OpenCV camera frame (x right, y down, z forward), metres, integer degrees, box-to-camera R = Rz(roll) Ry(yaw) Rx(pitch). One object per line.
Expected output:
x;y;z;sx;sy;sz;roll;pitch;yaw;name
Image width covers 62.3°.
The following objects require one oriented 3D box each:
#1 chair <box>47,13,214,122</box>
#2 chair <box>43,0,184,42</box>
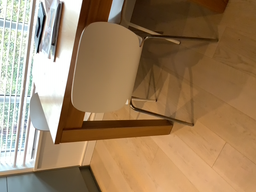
0.010;-0.150;1.220;0.430;0.780;0.430;33;115;53;chair
-0.080;-0.700;1.390;0.460;0.780;0.450;41;121;50;chair
